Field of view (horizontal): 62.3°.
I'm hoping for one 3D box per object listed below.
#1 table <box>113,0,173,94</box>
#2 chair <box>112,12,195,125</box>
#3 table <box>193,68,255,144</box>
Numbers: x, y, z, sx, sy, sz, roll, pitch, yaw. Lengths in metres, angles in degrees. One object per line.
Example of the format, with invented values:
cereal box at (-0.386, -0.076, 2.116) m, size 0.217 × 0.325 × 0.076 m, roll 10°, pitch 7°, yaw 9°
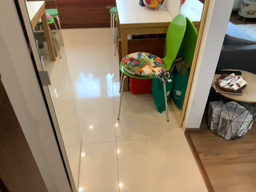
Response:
table at (0.100, -0.600, 2.400) m, size 0.510 × 0.740 × 0.920 m, roll -2°, pitch 37°, yaw -3°
chair at (0.170, -0.220, 1.830) m, size 0.550 × 0.850 × 0.440 m, roll 1°, pitch 37°, yaw 1°
table at (0.860, 0.080, 1.770) m, size 0.420 × 0.460 × 0.410 m, roll -2°, pitch 37°, yaw -4°
